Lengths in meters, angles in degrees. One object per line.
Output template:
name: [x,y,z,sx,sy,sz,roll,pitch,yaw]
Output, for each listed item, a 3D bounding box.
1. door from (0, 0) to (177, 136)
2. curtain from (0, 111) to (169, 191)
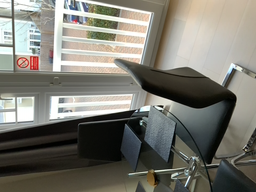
door: [-0.510,-0.510,2.040,0.070,2.090,1.920,44,129,52]
curtain: [-0.760,0.600,2.010,0.340,2.450,0.680,42,127,53]
